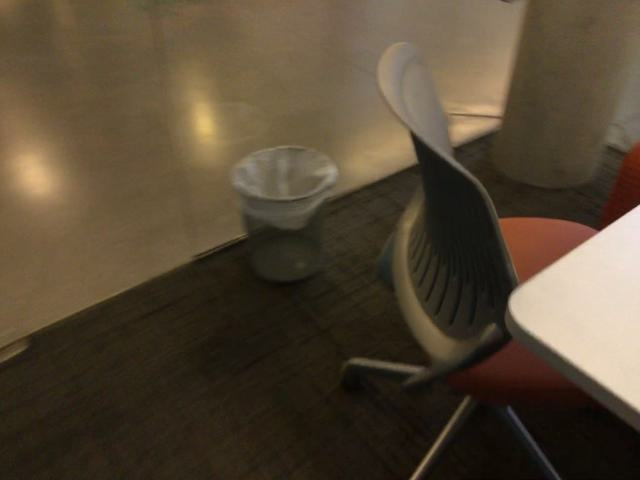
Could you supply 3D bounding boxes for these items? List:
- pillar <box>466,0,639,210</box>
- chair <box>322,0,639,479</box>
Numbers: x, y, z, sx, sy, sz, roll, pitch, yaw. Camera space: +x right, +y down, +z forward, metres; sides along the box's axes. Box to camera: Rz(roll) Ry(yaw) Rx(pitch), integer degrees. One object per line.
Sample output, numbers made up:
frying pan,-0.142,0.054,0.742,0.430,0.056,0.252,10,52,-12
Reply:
pillar,0.870,-0.680,1.970,0.500,1.000,0.400,19,44,24
chair,0.340,0.100,1.150,0.620,0.910,0.590,-3,40,-1
